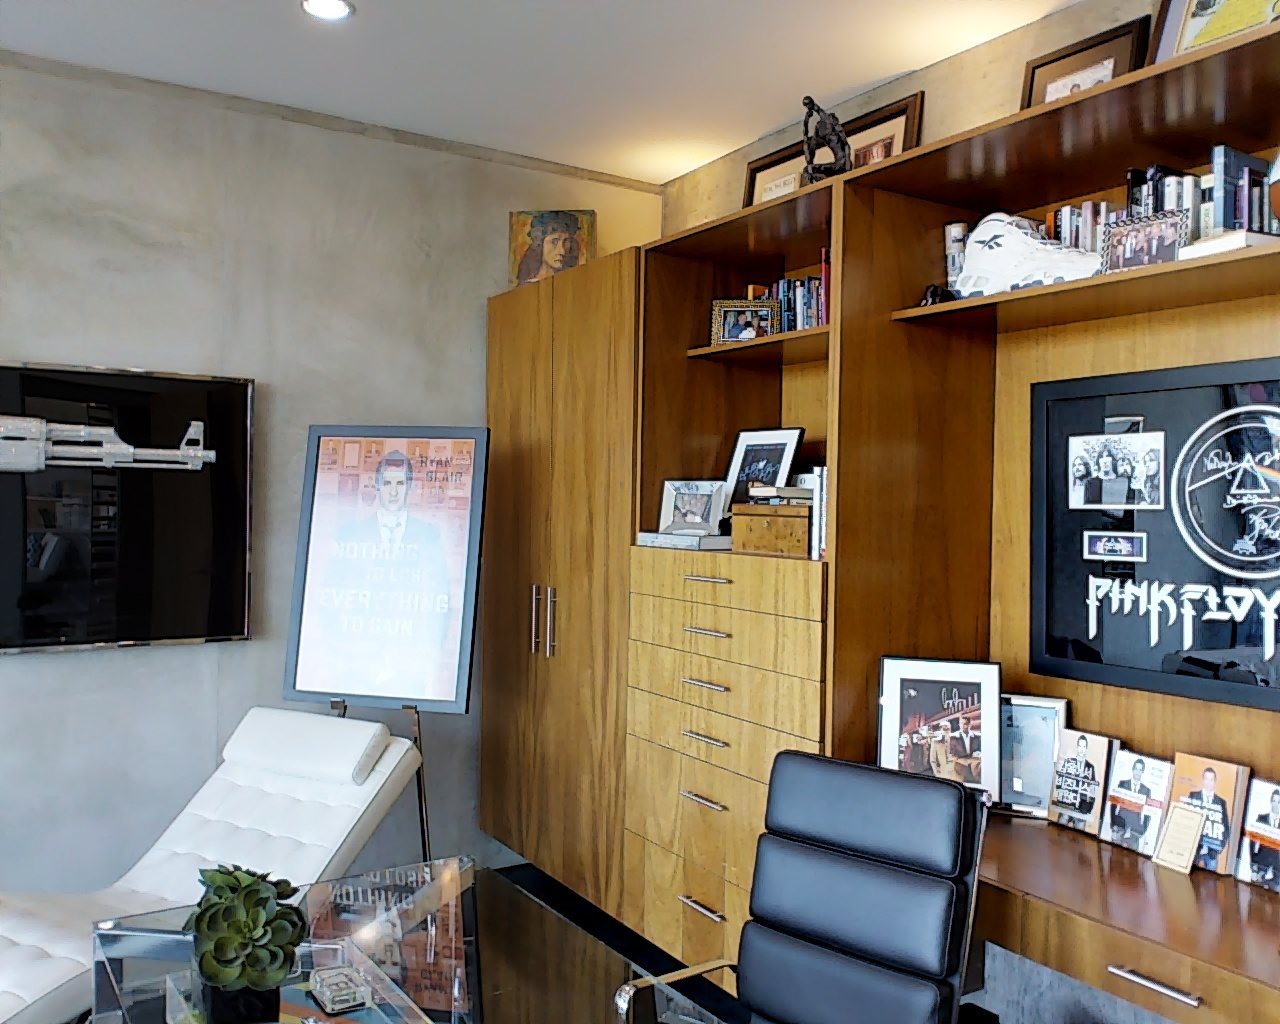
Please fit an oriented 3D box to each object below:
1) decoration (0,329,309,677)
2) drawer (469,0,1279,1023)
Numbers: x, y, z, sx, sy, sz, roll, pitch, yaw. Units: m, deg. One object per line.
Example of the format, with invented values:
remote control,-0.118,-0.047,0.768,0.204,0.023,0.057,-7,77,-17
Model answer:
decoration,-2.420,-0.030,3.320,2.720,1.120,0.140,0,1,-32
drawer,0.740,0.070,2.790,0.640,2.720,4.370,0,1,-32
